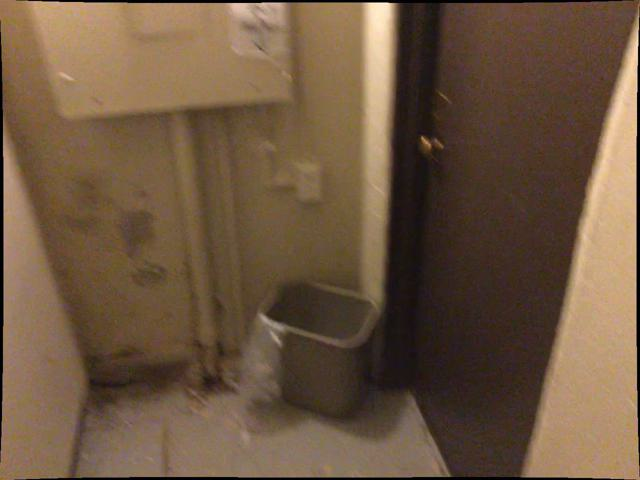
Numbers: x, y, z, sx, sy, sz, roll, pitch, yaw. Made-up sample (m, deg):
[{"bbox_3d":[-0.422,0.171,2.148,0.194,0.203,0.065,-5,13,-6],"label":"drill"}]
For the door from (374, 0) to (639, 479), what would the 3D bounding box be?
[{"bbox_3d":[0.380,-0.150,1.290,0.090,1.961,1.020,-6,32,-11],"label":"door"}]

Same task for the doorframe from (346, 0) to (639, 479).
[{"bbox_3d":[0.280,-0.150,1.270,0.100,1.981,1.050,-6,32,-11],"label":"doorframe"}]
